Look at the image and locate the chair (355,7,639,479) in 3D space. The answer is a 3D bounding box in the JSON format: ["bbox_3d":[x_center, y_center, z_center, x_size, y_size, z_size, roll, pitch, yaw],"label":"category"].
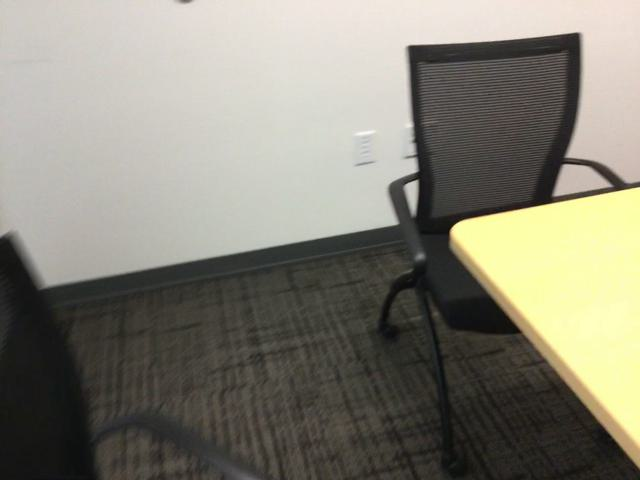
[{"bbox_3d":[0.450,0.000,1.430,0.560,0.930,0.590,-10,33,-6],"label":"chair"}]
